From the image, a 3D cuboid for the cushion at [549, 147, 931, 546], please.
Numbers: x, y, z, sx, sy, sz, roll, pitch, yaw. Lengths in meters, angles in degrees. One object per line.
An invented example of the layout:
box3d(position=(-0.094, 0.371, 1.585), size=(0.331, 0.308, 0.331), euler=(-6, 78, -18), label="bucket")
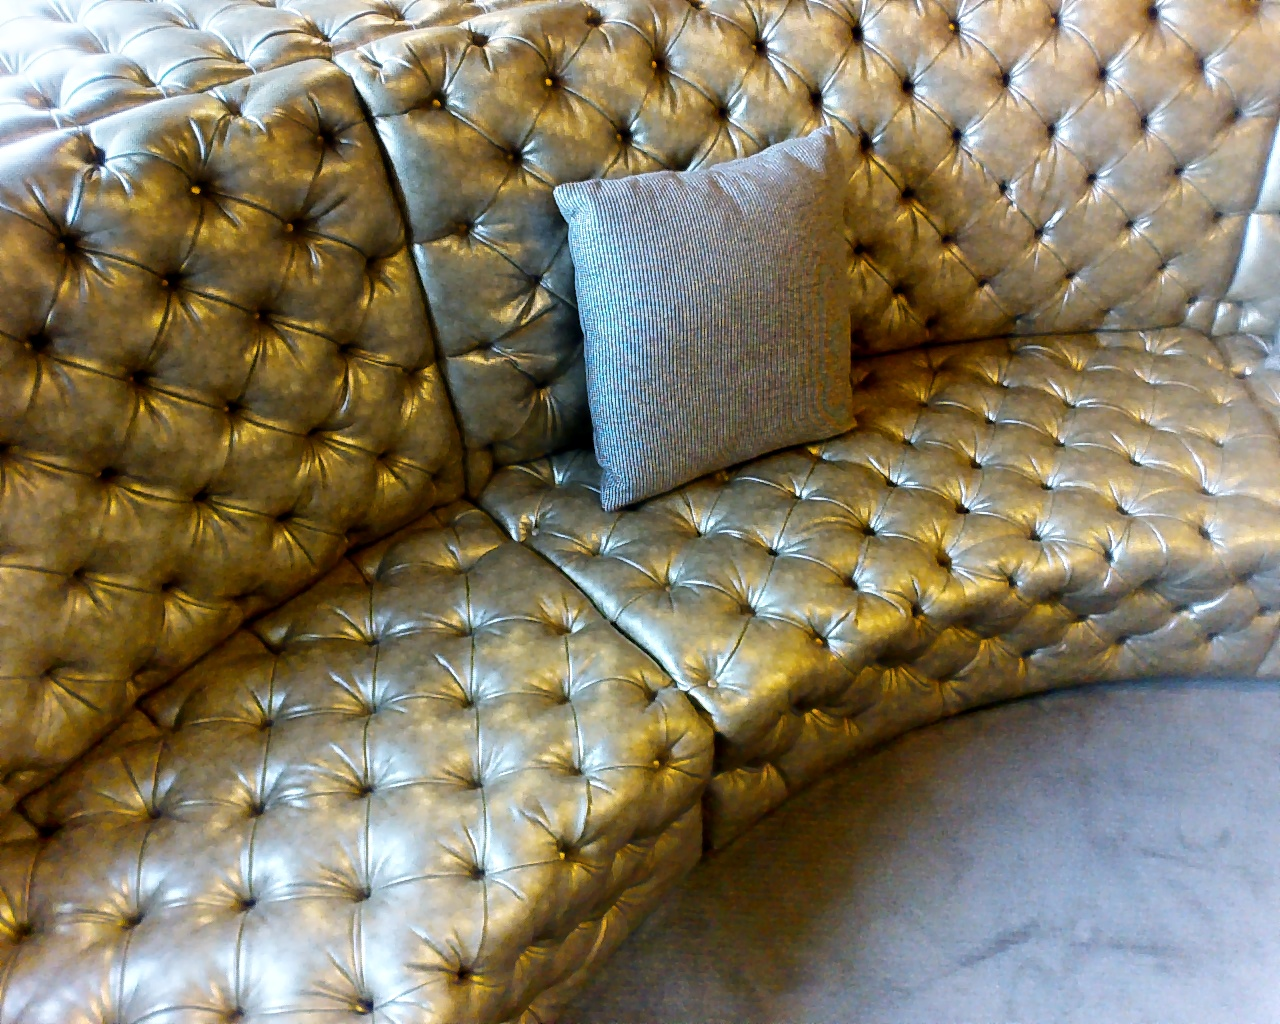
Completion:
box3d(position=(0.140, -0.270, 1.700), size=(0.530, 0.540, 0.190), euler=(-10, 31, -21), label="cushion")
